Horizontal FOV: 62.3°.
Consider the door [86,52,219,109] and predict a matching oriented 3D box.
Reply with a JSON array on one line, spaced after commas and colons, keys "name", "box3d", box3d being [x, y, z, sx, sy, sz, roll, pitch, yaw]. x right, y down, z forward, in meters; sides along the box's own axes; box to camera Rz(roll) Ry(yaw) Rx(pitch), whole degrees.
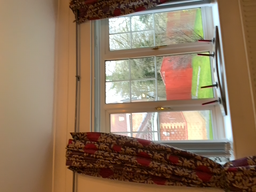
[{"name": "door", "box3d": [0.220, -0.150, 2.260, 0.160, 1.340, 0.500, 47, -139, -76]}]

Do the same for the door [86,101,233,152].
[{"name": "door", "box3d": [0.270, 0.320, 2.150, 0.160, 1.390, 0.460, 50, -142, -75]}]

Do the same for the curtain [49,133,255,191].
[{"name": "curtain", "box3d": [0.540, 0.620, 1.700, 0.250, 2.380, 0.610, 42, -134, -77]}]

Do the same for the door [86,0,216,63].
[{"name": "door", "box3d": [0.220, -0.750, 2.380, 0.220, 1.350, 0.610, 47, -139, -76]}]
